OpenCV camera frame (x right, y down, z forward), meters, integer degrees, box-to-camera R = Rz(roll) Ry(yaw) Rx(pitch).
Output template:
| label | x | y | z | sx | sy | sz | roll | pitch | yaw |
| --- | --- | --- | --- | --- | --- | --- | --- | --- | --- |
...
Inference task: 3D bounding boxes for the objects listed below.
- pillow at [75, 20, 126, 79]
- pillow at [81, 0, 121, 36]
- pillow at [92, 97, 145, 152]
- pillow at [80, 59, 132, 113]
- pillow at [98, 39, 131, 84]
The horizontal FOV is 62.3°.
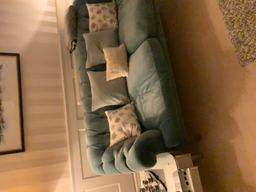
| label | x | y | z | sx | sy | sz | roll | pitch | yaw |
| --- | --- | --- | --- | --- | --- | --- | --- | --- | --- |
| pillow | -0.320 | -0.550 | 2.540 | 0.210 | 0.460 | 0.550 | 126 | 158 | -80 |
| pillow | -0.330 | -1.000 | 2.630 | 0.140 | 0.390 | 0.380 | 118 | 168 | -72 |
| pillow | -0.090 | 0.290 | 2.260 | 0.450 | 0.390 | 0.130 | -59 | -11 | -32 |
| pillow | -0.250 | -0.110 | 2.440 | 0.220 | 0.470 | 0.460 | 115 | 169 | -64 |
| pillow | -0.150 | -0.380 | 2.370 | 0.150 | 0.250 | 0.420 | 119 | 166 | -73 |
